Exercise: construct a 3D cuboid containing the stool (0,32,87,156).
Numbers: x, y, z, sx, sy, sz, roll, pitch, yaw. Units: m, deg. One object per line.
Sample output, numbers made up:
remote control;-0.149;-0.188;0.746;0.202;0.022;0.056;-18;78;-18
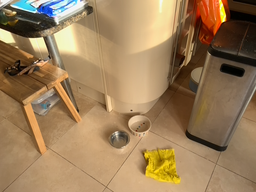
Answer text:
stool;-0.920;-0.140;1.520;1.230;0.450;0.390;24;49;25
